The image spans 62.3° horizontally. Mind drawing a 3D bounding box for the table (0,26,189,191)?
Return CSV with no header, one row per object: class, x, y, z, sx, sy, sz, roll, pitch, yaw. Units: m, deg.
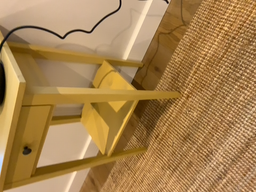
table,-0.170,0.070,0.890,0.340,0.700,0.460,46,120,36
